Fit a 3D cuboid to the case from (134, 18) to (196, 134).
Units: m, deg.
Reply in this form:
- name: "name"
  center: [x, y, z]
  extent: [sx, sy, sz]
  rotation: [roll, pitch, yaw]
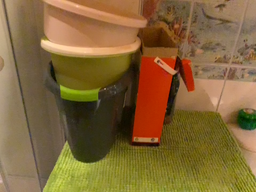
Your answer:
- name: "case"
  center: [0.110, -0.090, 0.750]
  extent: [0.140, 0.300, 0.310]
  rotation: [5, 29, 3]
